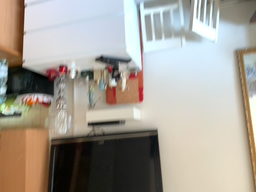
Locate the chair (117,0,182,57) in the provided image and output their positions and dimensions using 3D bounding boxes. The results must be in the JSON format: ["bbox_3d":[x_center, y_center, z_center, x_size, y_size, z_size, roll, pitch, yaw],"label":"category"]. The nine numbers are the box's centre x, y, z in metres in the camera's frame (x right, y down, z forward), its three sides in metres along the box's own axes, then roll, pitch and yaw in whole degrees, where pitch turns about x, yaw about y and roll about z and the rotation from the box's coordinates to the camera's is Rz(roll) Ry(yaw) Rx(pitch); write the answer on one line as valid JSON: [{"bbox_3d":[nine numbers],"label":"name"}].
[{"bbox_3d":[0.180,-0.830,1.690,0.410,0.860,0.540,-5,171,13],"label":"chair"}]

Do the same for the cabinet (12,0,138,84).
[{"bbox_3d":[-0.430,-0.700,1.880,0.880,1.020,0.560,-5,171,13],"label":"cabinet"}]
